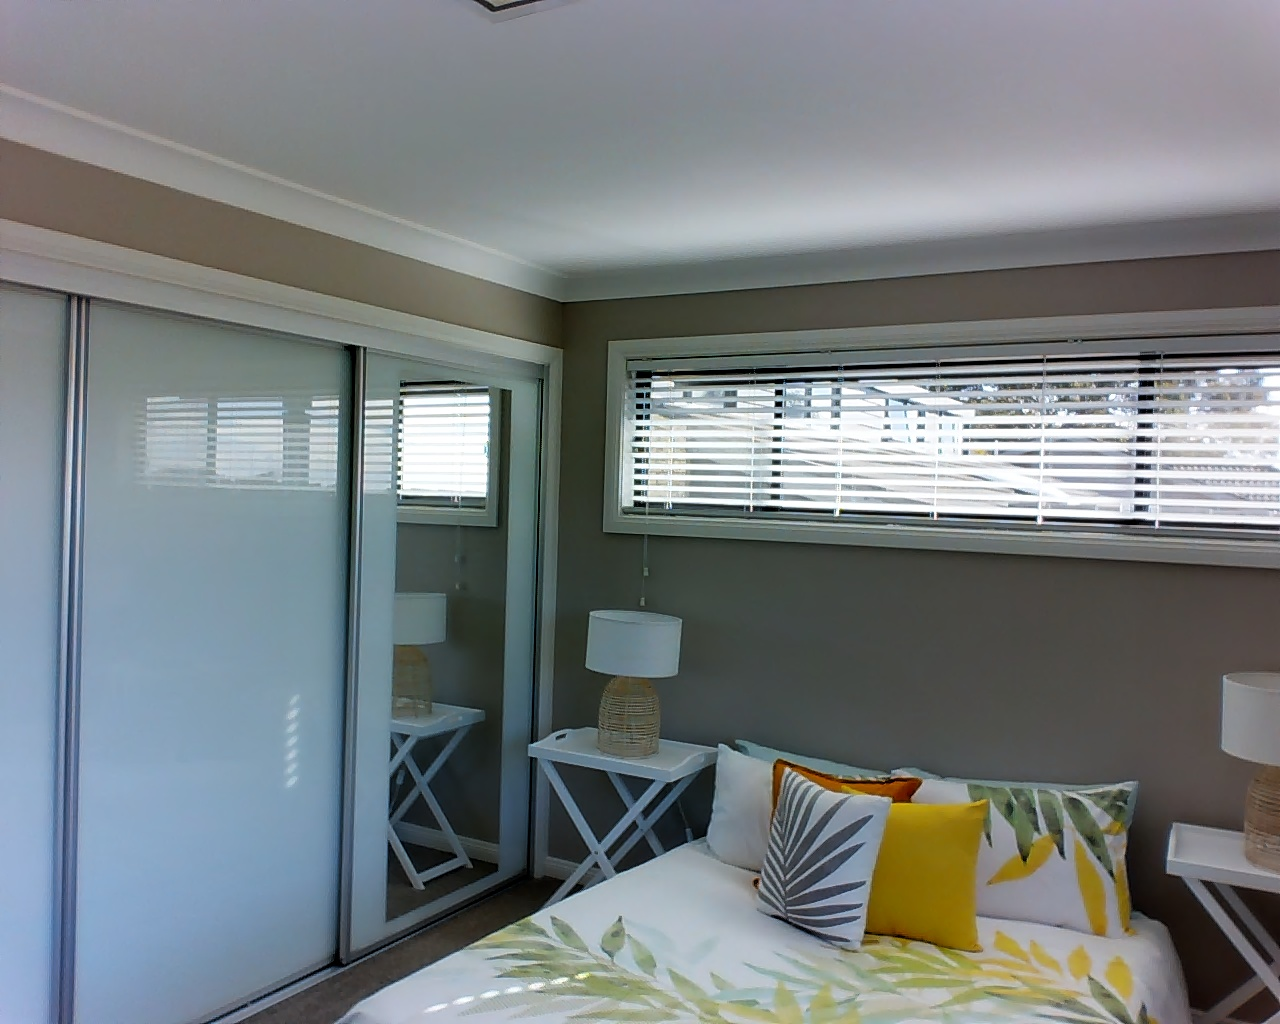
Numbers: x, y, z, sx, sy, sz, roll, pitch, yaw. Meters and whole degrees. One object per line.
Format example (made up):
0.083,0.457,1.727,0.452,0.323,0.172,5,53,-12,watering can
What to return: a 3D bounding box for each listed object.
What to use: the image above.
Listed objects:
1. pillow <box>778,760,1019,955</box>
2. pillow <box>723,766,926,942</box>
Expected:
0.700,0.940,2.910,0.520,0.430,0.240,-14,-7,28,pillow
0.490,0.920,2.920,0.200,0.390,0.460,-6,-9,-39,pillow
